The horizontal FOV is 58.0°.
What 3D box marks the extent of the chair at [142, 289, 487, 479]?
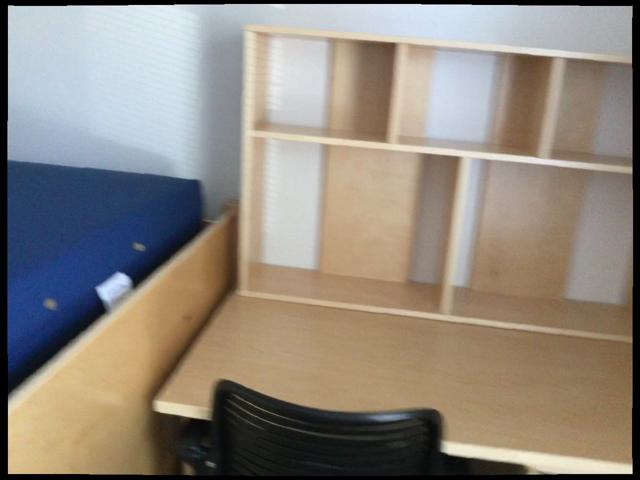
[{"bbox_3d":[-0.030,0.661,1.360,0.599,0.892,0.500,7,18,5],"label":"chair"}]
